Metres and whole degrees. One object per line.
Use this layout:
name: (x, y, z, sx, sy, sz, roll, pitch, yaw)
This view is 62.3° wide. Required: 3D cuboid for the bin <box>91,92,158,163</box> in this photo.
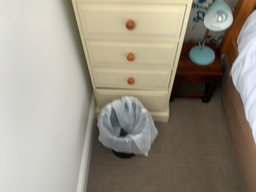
bin: (-0.010, 0.170, 1.100, 0.290, 0.290, 0.250, 1, 54, 2)
